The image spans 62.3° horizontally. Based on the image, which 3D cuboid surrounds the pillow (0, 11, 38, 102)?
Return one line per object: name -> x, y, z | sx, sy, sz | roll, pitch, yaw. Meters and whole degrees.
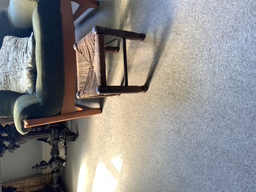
pillow -> -0.760, -0.250, 1.410 | 0.330, 0.240, 0.520 | 16, 106, 58
